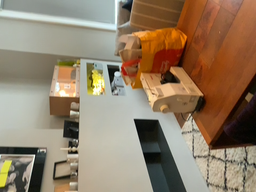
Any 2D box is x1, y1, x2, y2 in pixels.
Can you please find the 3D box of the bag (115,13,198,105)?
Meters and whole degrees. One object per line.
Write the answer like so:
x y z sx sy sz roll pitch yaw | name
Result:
0.170 -0.280 1.680 0.450 0.420 0.520 -104 22 -48 | bag

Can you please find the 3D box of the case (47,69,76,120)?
-1.090 -0.050 3.560 0.980 0.390 0.300 -105 24 -50 | case

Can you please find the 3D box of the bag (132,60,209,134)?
0.260 0.010 1.460 0.340 0.340 0.350 -104 22 -48 | bag

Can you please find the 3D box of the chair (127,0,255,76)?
0.600 -0.580 1.660 0.620 1.050 0.500 -104 23 -48 | chair
